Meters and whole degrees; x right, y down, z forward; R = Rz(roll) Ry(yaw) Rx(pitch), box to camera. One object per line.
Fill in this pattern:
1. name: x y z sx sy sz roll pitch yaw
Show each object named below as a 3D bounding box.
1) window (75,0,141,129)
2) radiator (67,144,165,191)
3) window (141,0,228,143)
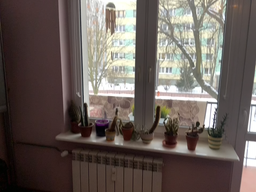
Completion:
1. window: -0.200 -0.350 2.210 0.620 1.330 0.200 3 11 13
2. radiator: -0.120 0.830 1.890 0.840 0.680 0.150 4 11 16
3. window: 0.450 -0.290 1.810 0.640 1.330 0.150 3 11 15
